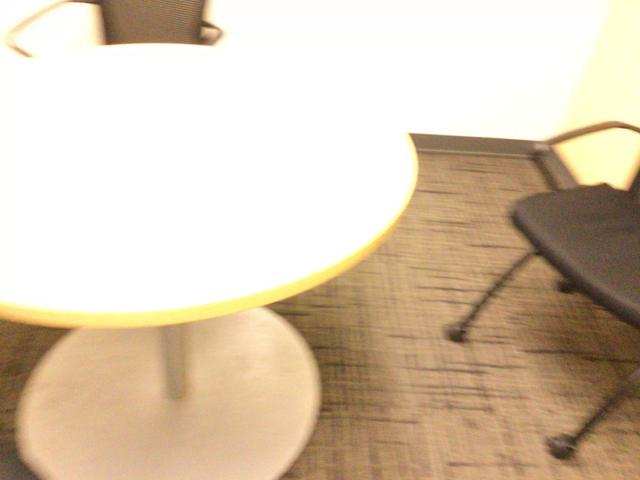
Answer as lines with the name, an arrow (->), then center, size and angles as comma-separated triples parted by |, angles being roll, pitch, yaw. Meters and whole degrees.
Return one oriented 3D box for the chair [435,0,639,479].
chair -> 0.780, 0.000, 1.360 | 0.540, 0.930, 0.600 | -12, 41, -27
